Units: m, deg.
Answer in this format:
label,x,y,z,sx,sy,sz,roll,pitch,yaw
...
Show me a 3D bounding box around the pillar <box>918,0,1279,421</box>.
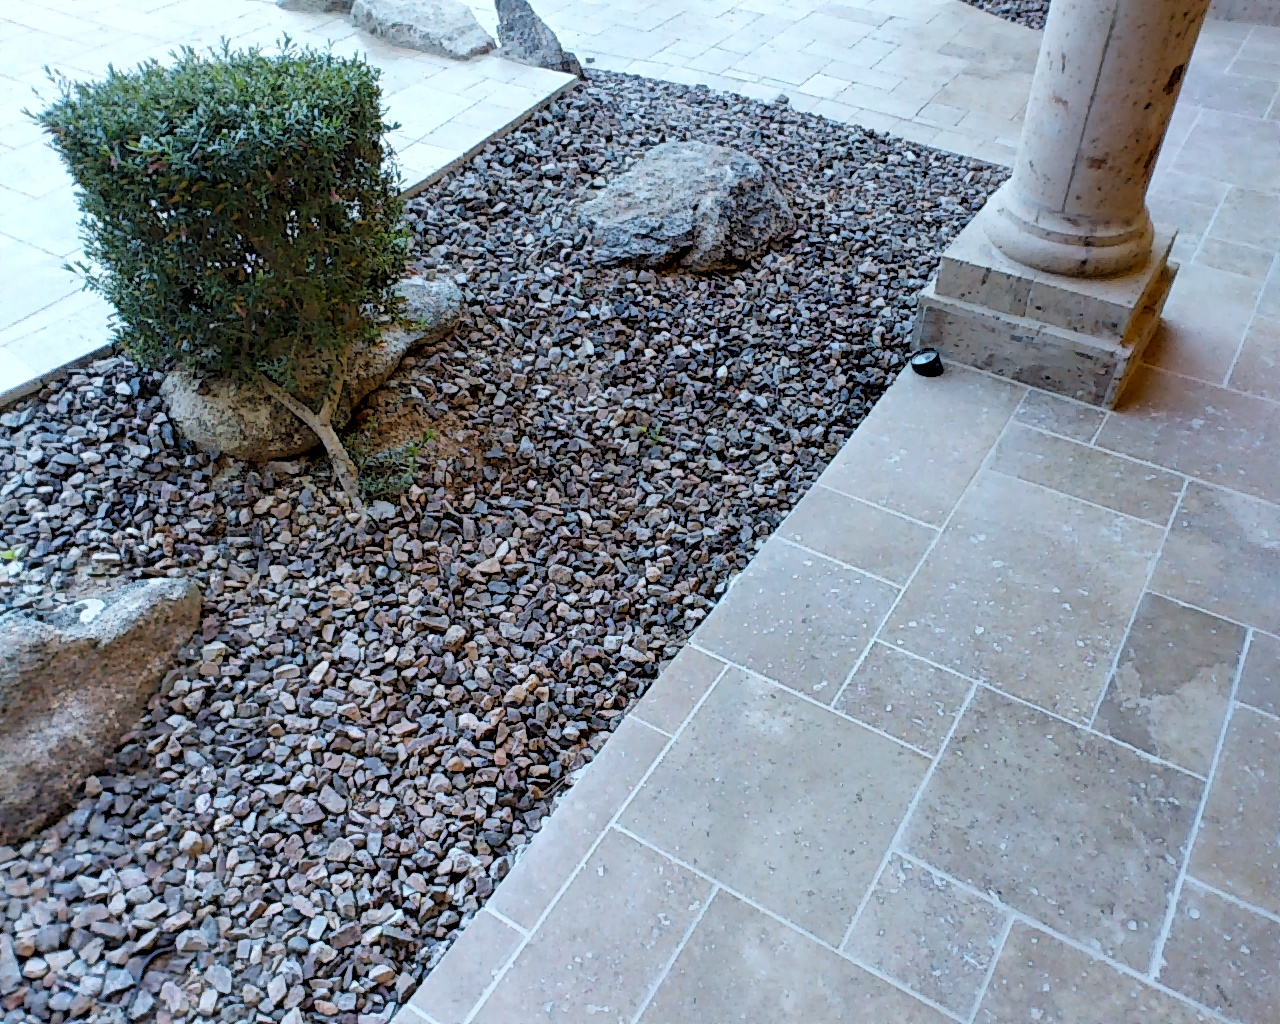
label,x,y,z,sx,sy,sz,roll,pitch,yaw
pillar,1.090,-1.259,2.110,0.500,2.070,0.690,23,48,24
